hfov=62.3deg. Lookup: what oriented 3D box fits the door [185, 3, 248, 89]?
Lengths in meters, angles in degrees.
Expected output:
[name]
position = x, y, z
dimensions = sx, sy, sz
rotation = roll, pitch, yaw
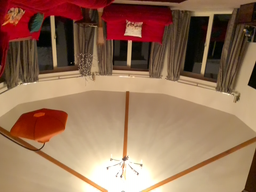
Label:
[door]
position = 2.270, -1.360, 5.720
dimensions = 0.090, 2.050, 1.370
rotation = -12, -156, -39
